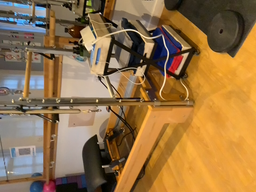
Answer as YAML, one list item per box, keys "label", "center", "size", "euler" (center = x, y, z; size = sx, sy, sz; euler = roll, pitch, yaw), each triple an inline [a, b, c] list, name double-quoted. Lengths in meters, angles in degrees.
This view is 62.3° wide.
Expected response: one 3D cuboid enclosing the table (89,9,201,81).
- label: "table"
  center: [0.100, -0.390, 1.650]
  size: [0.490, 0.680, 0.300]
  euler: [-116, 34, -46]
